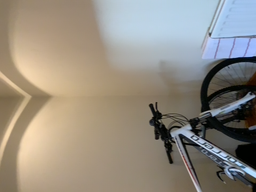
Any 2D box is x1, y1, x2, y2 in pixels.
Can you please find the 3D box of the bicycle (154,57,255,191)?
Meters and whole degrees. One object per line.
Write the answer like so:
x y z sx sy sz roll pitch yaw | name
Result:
0.740 0.580 1.570 0.550 0.980 1.700 83 -173 -65 | bicycle
